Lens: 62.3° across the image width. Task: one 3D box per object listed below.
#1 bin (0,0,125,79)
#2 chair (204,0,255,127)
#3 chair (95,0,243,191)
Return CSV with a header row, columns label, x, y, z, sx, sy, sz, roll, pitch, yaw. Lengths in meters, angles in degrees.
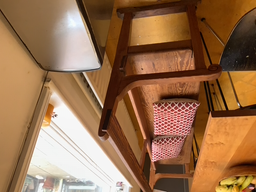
label,x,y,z,sx,sy,sz,roll,pitch,yaw
bin,-0.200,-0.460,0.880,0.300,0.680,0.360,-4,146,9
chair,0.670,-0.320,0.950,0.460,0.740,0.510,-4,146,9
chair,0.310,0.270,1.770,0.550,0.850,1.800,-4,146,9
